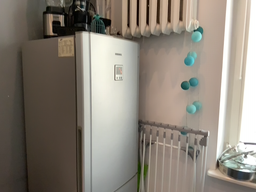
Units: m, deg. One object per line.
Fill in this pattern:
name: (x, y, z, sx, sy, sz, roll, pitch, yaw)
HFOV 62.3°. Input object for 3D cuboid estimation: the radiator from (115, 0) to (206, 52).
radiator: (0.210, -0.700, 1.460, 0.600, 0.760, 0.180, 5, 11, 31)
